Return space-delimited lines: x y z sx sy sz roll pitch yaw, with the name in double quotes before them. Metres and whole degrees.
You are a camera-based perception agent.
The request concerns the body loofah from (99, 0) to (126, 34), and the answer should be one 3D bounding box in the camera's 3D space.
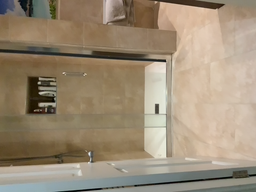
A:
"body loofah" -0.200 -1.060 2.610 0.420 0.250 0.440 178 93 -75
